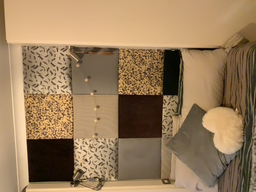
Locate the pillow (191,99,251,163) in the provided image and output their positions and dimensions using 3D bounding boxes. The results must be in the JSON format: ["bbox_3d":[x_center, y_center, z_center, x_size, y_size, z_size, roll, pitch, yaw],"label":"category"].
[{"bbox_3d":[0.770,0.280,1.740,0.400,0.310,0.170,-40,1,-33],"label":"pillow"}]

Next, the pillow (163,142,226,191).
[{"bbox_3d":[0.650,0.770,2.130,0.240,0.420,0.430,-119,51,-83],"label":"pillow"}]

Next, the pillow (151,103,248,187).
[{"bbox_3d":[0.640,0.460,1.940,0.620,0.560,0.280,-23,5,29],"label":"pillow"}]

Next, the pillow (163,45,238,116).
[{"bbox_3d":[0.660,-0.140,1.970,0.480,0.410,0.190,-44,5,4],"label":"pillow"}]
